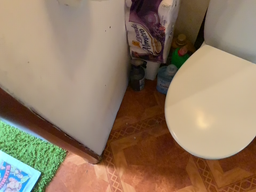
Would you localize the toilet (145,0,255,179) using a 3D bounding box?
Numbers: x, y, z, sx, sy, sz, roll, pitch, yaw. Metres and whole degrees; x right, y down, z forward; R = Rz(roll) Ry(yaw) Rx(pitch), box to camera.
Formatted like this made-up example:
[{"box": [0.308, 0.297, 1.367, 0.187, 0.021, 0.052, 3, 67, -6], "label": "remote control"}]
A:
[{"box": [0.380, -0.030, 0.900, 0.370, 0.800, 0.590, 25, 71, 12], "label": "toilet"}]
